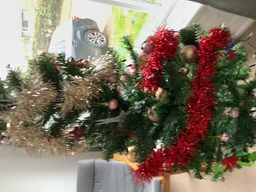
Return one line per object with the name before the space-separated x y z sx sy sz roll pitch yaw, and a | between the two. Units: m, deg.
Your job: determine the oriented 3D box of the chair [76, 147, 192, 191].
chair | 0.010 1.000 2.210 0.820 0.950 0.710 178 93 -67
